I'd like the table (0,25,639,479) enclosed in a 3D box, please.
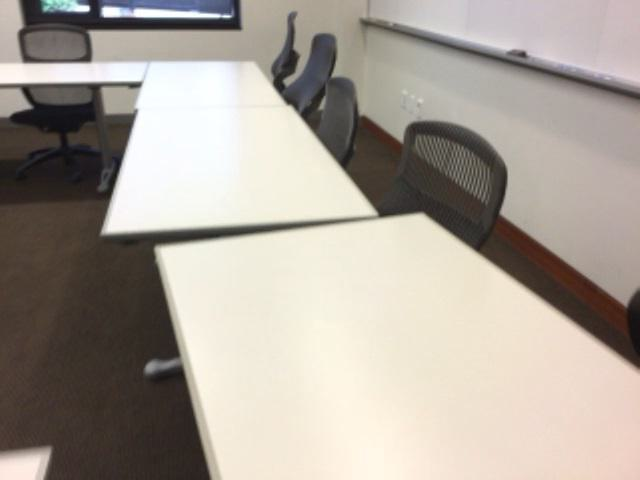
[{"bbox_3d":[-2.210,0.080,1.700,4.920,0.950,4.620,-3,27,-18],"label":"table"}]

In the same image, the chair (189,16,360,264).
[{"bbox_3d":[-0.290,-0.520,2.970,0.680,1.080,0.630,-3,27,-18],"label":"chair"}]

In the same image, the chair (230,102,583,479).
[{"bbox_3d":[0.120,0.200,1.610,0.600,1.000,0.660,-3,27,-18],"label":"chair"}]
